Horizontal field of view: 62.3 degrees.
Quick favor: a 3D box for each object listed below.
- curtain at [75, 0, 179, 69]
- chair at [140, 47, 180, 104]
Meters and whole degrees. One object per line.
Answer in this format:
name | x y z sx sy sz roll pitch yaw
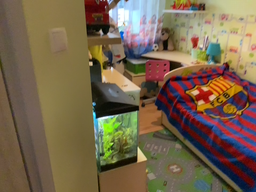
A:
curtain | 0.040 -1.570 3.390 1.720 2.120 0.210 -9 26 -22
chair | 0.500 -0.340 3.380 0.530 0.740 0.540 4 24 9
